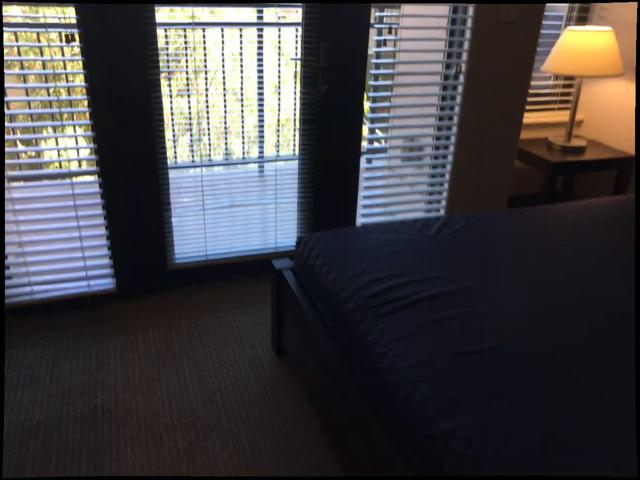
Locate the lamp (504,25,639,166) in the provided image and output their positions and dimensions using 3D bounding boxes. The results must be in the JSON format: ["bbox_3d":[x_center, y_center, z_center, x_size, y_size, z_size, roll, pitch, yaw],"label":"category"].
[{"bbox_3d":[1.227,-0.722,2.840,0.389,0.591,0.350,-8,28,-18],"label":"lamp"}]

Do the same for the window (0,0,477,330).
[{"bbox_3d":[-0.379,-0.722,2.150,2.005,2.004,0.270,-8,28,-18],"label":"window"}]
